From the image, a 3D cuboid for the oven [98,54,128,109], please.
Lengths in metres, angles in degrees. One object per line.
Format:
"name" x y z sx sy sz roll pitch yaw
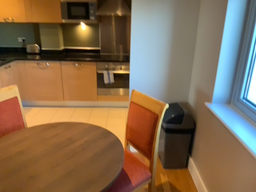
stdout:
"oven" -0.270 -0.300 4.050 0.510 0.870 0.710 1 20 -1
